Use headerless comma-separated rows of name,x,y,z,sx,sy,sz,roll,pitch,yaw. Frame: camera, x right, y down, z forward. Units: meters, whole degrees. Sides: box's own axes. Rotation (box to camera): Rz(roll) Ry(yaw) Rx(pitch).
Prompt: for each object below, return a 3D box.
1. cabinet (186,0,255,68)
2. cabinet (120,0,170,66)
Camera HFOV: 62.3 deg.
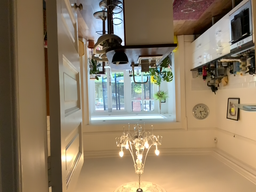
cabinet,1.790,-1.180,4.300,0.570,0.930,2.050,-2,180,-2
cabinet,0.170,-1.090,3.390,0.570,0.960,1.770,-2,180,-2
